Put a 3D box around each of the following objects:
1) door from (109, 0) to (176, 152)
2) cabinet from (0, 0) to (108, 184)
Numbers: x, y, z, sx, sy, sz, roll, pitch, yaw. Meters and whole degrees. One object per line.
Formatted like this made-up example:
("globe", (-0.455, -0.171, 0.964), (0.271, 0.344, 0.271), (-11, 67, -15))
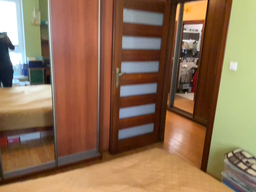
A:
("door", (0.180, -0.270, 2.840), (0.820, 2.010, 0.130), (-5, 17, -29))
("cabinet", (-1.180, -0.420, 2.270), (1.800, 2.540, 0.630), (-6, 18, -31))
